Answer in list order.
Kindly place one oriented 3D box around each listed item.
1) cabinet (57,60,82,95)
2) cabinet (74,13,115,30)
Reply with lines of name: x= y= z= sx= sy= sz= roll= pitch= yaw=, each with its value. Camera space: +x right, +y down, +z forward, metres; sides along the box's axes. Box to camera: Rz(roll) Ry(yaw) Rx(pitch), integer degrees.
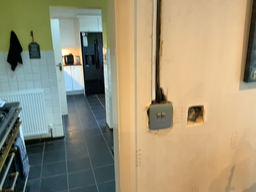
cabinet: x=-1.710 y=-0.560 z=6.210 sx=0.610 sy=0.880 sz=0.520 roll=-6 pitch=17 yaw=-17
cabinet: x=-0.950 y=-2.100 z=6.000 sx=1.040 sy=0.420 sz=0.590 roll=-6 pitch=17 yaw=-17
